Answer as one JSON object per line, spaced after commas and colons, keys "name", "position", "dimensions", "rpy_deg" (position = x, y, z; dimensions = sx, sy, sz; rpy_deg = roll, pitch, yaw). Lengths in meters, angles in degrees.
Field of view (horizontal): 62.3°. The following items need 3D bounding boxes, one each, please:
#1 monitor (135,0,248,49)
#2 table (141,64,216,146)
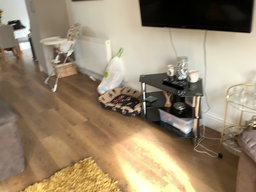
{"name": "monitor", "position": [0.430, -0.860, 1.720], "dimensions": [0.060, 0.700, 1.080], "rpy_deg": [-20, 36, -32]}
{"name": "table", "position": [0.500, 0.050, 2.230], "dimensions": [0.400, 0.600, 0.620], "rpy_deg": [-21, 29, -33]}
